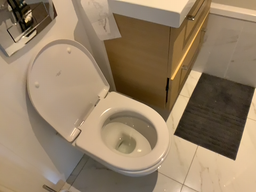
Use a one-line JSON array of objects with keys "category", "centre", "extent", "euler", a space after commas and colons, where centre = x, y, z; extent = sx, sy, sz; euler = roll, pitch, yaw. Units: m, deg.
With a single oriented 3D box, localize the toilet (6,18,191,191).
[{"category": "toilet", "centre": [-0.060, 0.140, 1.060], "extent": [0.520, 0.850, 0.360], "euler": [21, 60, 20]}]
